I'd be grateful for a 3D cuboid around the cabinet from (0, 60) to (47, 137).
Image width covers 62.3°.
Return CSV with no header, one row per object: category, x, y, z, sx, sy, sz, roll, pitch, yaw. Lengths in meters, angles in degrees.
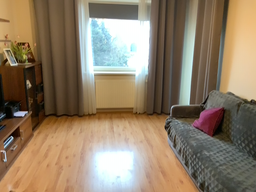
cabinet,-1.840,-0.030,3.770,0.440,1.130,1.070,-1,14,-8
